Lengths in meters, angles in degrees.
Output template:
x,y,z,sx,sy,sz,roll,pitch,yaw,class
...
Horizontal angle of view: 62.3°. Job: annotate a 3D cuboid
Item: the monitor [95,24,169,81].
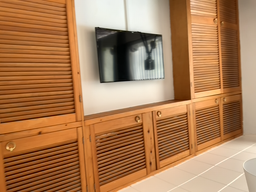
x,y,z,sx,sy,sz,roll,pitch,yaw,class
0.100,-0.460,2.340,0.980,0.530,0.050,-7,-174,-38,monitor
